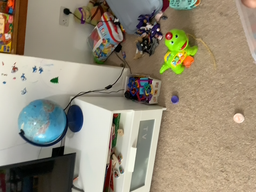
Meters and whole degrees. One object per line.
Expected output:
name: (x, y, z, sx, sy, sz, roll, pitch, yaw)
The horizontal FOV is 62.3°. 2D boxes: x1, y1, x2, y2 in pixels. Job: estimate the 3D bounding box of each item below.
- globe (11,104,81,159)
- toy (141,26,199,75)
globe: (-0.460, 0.180, 1.200, 0.190, 0.300, 0.230, 13, 99, 43)
toy: (0.260, -0.280, 1.320, 0.230, 0.220, 0.240, 20, 104, 42)
